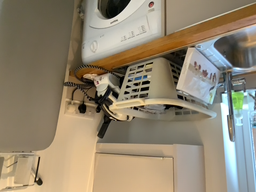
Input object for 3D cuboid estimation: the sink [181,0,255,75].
[{"bbox_3d":[0.580,-0.290,0.950,0.480,0.180,0.510,-9,163,40],"label":"sink"}]
